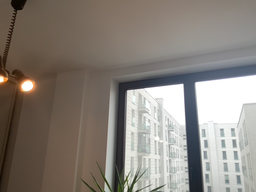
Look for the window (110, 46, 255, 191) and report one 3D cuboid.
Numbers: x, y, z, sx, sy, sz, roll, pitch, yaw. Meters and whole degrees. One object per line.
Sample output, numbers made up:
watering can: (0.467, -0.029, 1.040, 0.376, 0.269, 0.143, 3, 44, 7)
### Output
window: (0.680, 0.450, 2.080, 1.850, 1.780, 0.110, -6, -18, 25)
